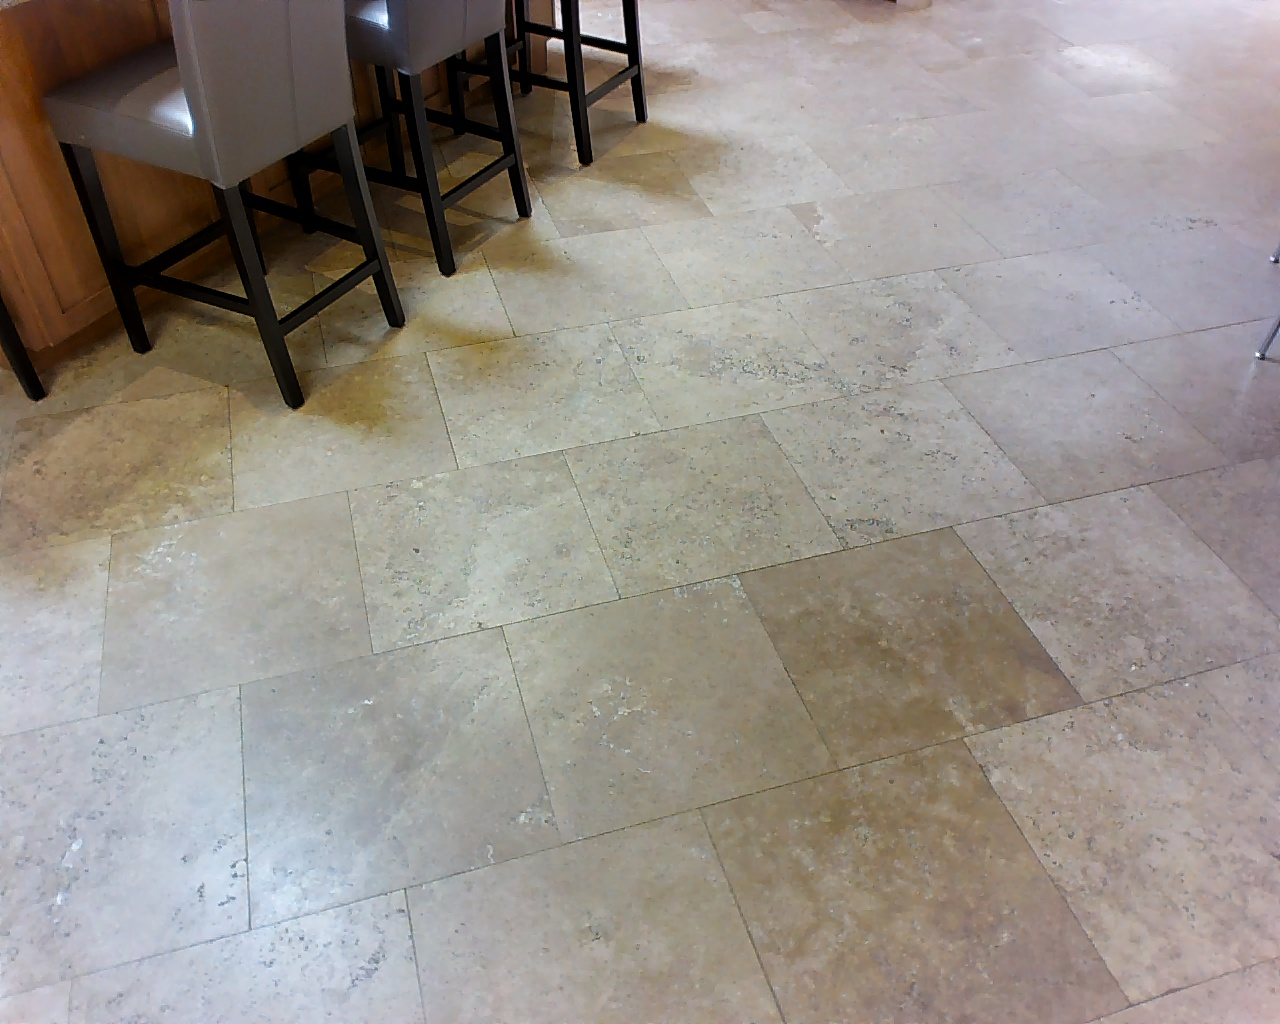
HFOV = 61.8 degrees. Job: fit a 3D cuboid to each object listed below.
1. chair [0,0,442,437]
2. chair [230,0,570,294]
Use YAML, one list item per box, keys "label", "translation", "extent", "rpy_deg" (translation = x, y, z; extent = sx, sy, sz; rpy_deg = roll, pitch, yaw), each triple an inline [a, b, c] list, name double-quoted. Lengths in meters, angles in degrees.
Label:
- label: "chair"
  translation: [-0.870, -0.780, 2.290]
  extent: [0.560, 0.990, 0.540]
  rpy_deg: [19, 46, 19]
- label: "chair"
  translation: [-0.590, -1.190, 2.730]
  extent: [0.590, 0.990, 0.550]
  rpy_deg: [19, 46, 19]
